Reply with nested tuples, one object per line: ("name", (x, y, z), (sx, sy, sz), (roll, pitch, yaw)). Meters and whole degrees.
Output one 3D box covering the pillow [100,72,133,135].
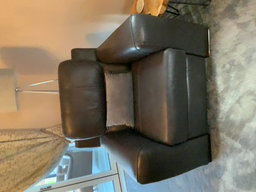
("pillow", (-0.100, 0.050, 1.780), (0.230, 0.190, 0.490), (9, 101, 63))
